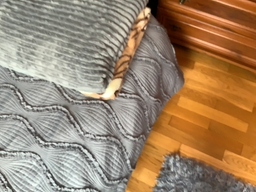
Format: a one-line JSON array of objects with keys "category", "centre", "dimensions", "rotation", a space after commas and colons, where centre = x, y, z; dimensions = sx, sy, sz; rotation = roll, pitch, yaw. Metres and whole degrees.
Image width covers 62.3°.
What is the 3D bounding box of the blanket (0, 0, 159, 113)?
[{"category": "blanket", "centre": [-0.210, -0.270, 0.770], "dimensions": [0.510, 0.200, 0.460], "rotation": [22, 68, 10]}]
